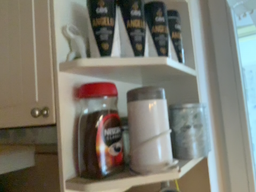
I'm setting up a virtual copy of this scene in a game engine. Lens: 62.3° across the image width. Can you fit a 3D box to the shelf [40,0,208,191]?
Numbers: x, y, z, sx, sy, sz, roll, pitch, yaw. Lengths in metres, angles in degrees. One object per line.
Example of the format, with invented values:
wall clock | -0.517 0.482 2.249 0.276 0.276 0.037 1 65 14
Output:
shelf | 0.010 -0.180 0.560 0.220 0.720 0.390 -9 -6 32
